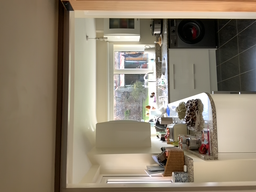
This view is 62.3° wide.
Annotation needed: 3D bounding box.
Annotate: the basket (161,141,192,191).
[{"bbox_3d":[0.460,0.670,2.070,0.340,0.200,0.410,105,165,-83],"label":"basket"}]
